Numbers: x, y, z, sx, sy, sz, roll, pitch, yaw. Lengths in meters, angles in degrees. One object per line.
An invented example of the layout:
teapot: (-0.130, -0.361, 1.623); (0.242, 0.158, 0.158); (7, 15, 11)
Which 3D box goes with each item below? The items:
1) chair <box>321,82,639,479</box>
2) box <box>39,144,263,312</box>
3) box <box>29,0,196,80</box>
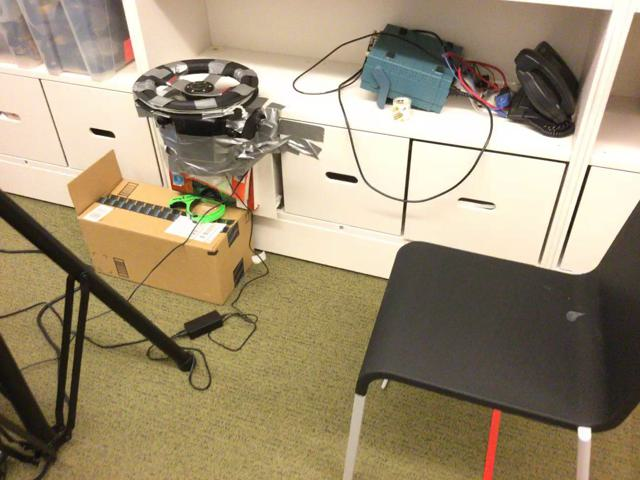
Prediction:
chair: (0.370, 0.170, 1.150); (0.580, 0.770, 0.470); (11, 38, 18)
box: (-0.510, -0.050, 1.820); (0.560, 0.340, 0.280); (11, 38, 18)
box: (-0.600, -0.670, 1.710); (0.280, 0.250, 0.350); (11, 38, 18)
